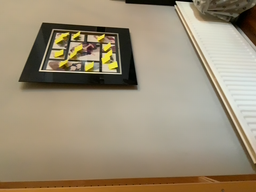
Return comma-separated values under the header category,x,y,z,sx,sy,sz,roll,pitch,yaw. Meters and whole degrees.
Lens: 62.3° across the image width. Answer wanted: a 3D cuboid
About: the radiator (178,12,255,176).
category,x,y,z,sx,sy,sz,roll,pitch,yaw
radiator,0.950,-0.220,1.840,0.100,0.650,1.770,99,170,-49
